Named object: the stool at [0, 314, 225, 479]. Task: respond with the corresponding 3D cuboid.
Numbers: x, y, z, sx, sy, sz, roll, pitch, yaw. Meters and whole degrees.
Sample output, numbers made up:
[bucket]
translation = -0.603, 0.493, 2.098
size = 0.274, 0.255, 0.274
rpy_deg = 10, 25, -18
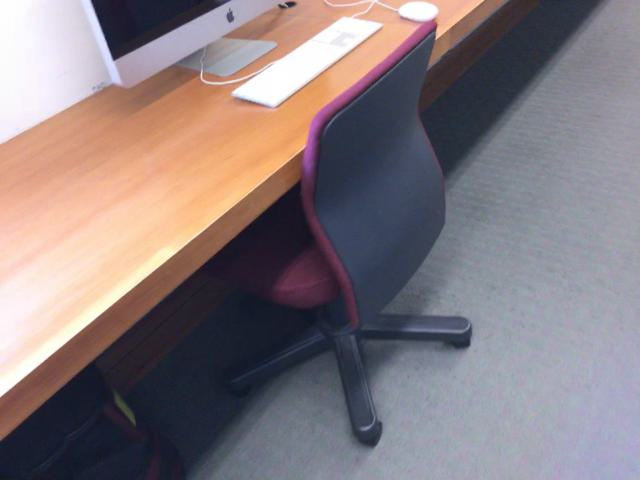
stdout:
[stool]
translation = -0.510, 0.480, 1.210
size = 0.370, 0.380, 0.410
rpy_deg = 17, 43, 31
